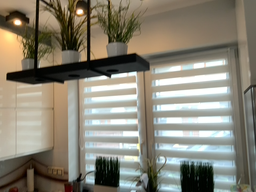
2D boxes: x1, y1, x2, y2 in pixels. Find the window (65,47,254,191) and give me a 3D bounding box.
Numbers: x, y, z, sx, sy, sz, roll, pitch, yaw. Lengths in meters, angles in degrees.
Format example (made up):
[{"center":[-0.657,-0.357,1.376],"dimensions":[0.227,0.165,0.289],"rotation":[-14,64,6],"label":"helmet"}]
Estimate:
[{"center":[0.150,0.400,2.150],"dimensions":[1.880,1.470,0.170],"rotation":[-4,-5,26],"label":"window"}]
